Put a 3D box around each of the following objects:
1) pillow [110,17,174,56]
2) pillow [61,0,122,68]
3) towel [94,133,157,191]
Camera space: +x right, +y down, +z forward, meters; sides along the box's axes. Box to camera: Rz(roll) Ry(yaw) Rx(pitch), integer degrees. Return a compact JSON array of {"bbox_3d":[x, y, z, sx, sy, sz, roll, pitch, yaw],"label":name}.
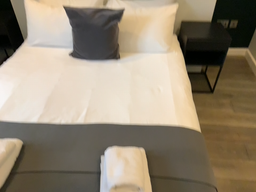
[{"bbox_3d":[0.120,-0.510,1.830,0.520,0.280,0.130,-5,17,-1],"label":"pillow"},{"bbox_3d":[-0.270,-0.510,1.740,0.370,0.440,0.260,10,42,12],"label":"pillow"},{"bbox_3d":[-0.020,0.340,0.950,0.240,0.130,0.320,-3,41,-4],"label":"towel"}]
